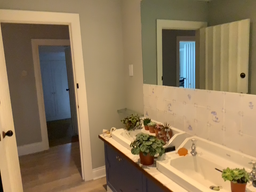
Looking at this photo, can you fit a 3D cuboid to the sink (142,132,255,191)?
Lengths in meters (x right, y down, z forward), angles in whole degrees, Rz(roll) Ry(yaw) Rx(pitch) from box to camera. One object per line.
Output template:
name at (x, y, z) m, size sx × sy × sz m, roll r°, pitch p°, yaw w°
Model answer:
sink at (0.480, 0.510, 1.460) m, size 0.450 × 0.260 × 0.730 m, roll -7°, pitch 9°, yaw -27°

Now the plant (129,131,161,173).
plant at (0.130, 0.420, 1.620) m, size 0.170 × 0.230 × 0.180 m, roll -6°, pitch 10°, yaw -23°
